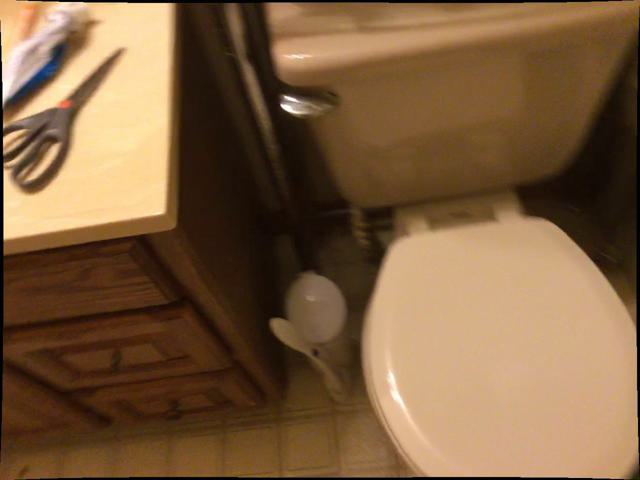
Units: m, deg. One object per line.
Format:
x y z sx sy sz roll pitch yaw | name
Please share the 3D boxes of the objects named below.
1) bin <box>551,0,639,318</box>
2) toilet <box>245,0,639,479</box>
0.659 -0.140 1.080 0.230 0.500 0.360 -10 57 3 | bin
0.230 0.040 0.880 0.500 0.720 0.690 -10 57 3 | toilet
